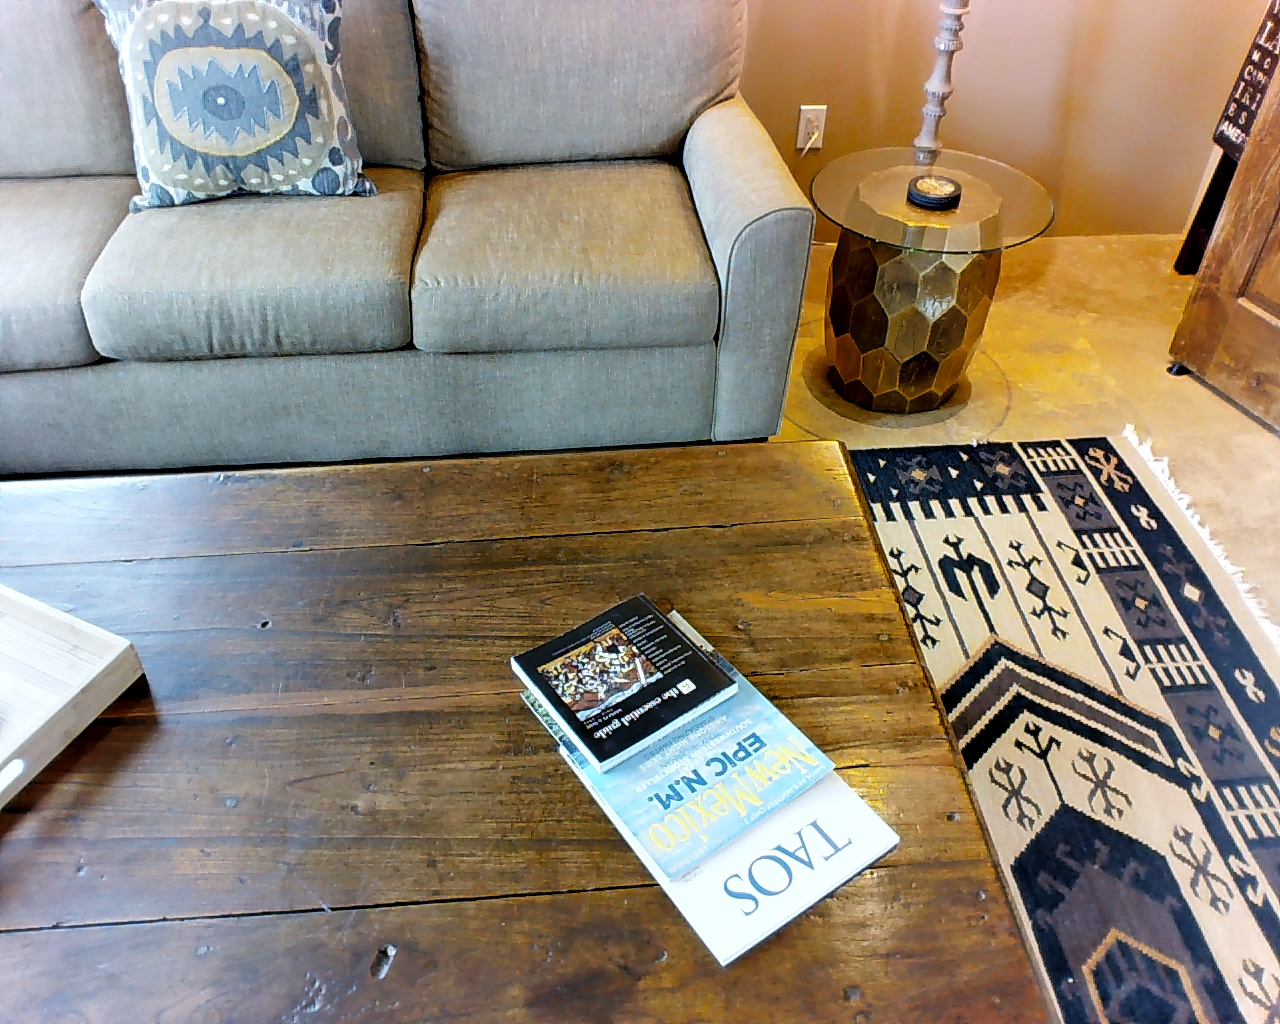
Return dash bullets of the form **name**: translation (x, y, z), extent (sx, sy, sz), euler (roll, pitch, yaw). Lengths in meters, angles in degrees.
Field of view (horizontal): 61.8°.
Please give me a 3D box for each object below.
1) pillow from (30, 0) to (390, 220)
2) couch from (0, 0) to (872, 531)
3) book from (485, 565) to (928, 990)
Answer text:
- **pillow**: translation (-0.810, -0.820, 2.120), extent (0.540, 0.410, 0.230), euler (-2, 60, -3)
- **couch**: translation (-0.800, -0.670, 2.300), extent (2.250, 0.890, 1.050), euler (-3, 41, -3)
- **book**: translation (0.050, 0.240, 1.110), extent (0.230, 0.030, 0.450), euler (-24, 47, -25)
